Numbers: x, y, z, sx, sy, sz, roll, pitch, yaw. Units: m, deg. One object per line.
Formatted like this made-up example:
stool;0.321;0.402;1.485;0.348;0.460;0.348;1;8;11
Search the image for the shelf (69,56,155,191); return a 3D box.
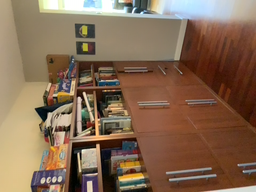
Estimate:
shelf;-0.300;0.300;2.410;3.000;0.590;0.410;-108;21;-57
